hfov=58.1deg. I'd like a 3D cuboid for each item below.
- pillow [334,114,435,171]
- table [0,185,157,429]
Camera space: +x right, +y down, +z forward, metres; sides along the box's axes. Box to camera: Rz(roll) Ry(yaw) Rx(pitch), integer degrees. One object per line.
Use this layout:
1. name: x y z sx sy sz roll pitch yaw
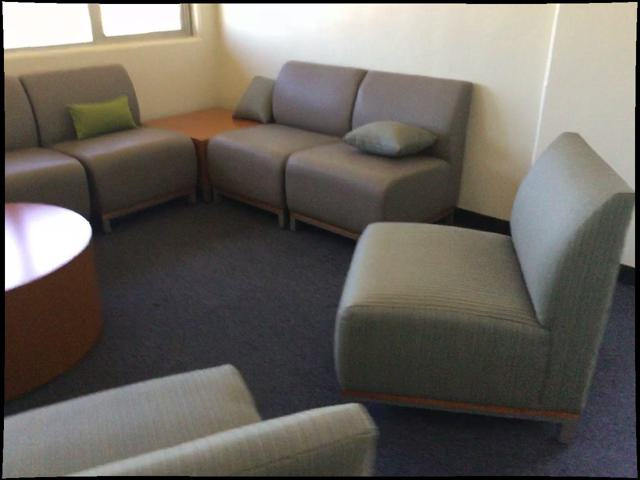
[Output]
1. pillow: 0.339 -0.521 3.030 0.389 0.170 0.350 19 29 34
2. table: -1.396 0.231 2.210 1.108 0.431 0.979 19 29 34
